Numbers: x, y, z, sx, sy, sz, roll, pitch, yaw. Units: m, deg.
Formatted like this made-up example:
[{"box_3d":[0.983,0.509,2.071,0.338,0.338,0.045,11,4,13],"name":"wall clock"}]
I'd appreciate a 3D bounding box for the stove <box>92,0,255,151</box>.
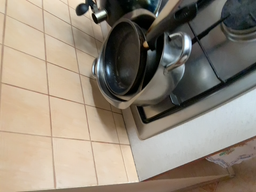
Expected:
[{"box_3d":[0.130,-0.240,0.570,0.530,0.020,0.600,-34,56,29],"name":"stove"}]
